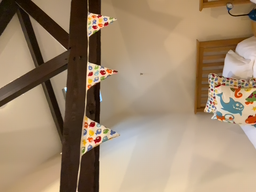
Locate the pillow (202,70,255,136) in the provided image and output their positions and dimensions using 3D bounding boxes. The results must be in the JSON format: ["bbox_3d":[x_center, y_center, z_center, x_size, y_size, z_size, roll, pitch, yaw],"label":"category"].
[{"bbox_3d":[1.080,0.070,2.300,0.480,0.400,0.530,-80,-15,-60],"label":"pillow"}]
